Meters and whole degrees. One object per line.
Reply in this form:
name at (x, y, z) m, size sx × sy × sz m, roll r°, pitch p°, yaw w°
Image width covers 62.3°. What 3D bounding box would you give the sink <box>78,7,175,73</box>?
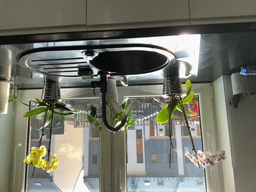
sink at (0.000, -0.250, 1.060) m, size 0.390 × 0.150 × 0.400 m, roll -2°, pitch 170°, yaw 3°
